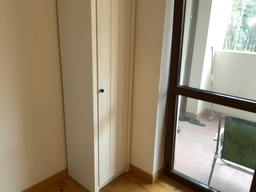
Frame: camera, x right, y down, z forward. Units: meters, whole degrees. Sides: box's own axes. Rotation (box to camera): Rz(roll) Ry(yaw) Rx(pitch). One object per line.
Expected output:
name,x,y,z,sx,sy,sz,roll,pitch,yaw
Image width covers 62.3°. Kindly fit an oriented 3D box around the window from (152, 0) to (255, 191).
window,0.940,-0.130,1.540,1.480,2.360,0.180,15,22,35
